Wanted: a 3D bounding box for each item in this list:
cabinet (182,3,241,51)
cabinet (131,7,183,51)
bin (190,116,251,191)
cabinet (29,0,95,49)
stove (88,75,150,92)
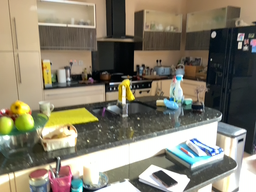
[{"bbox_3d":[1.480,-1.210,3.900,0.380,0.740,0.930,-7,14,-29],"label":"cabinet"},{"bbox_3d":[0.570,-1.260,4.130,0.960,0.730,0.350,-7,14,-29],"label":"cabinet"},{"bbox_3d":[0.950,0.610,2.240,0.280,0.670,0.460,-7,14,-31],"label":"bin"},{"bbox_3d":[-0.990,-1.080,3.260,0.880,0.700,0.340,-7,14,-29],"label":"cabinet"},{"bbox_3d":[-0.160,-0.240,3.750,0.890,0.140,0.650,-7,14,-29],"label":"stove"}]
